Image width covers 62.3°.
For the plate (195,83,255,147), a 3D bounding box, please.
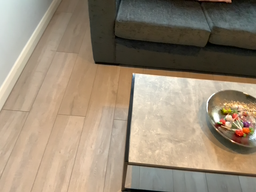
[{"bbox_3d":[0.500,0.080,0.980,0.330,0.040,0.310,5,51,0],"label":"plate"}]
